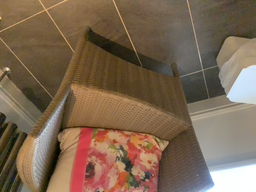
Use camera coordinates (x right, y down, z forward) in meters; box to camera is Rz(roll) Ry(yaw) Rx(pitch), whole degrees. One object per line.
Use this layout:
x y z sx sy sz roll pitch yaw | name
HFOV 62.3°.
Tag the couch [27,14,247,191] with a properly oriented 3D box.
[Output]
-0.040 0.220 0.920 0.550 0.880 0.640 17 131 -14 | couch
